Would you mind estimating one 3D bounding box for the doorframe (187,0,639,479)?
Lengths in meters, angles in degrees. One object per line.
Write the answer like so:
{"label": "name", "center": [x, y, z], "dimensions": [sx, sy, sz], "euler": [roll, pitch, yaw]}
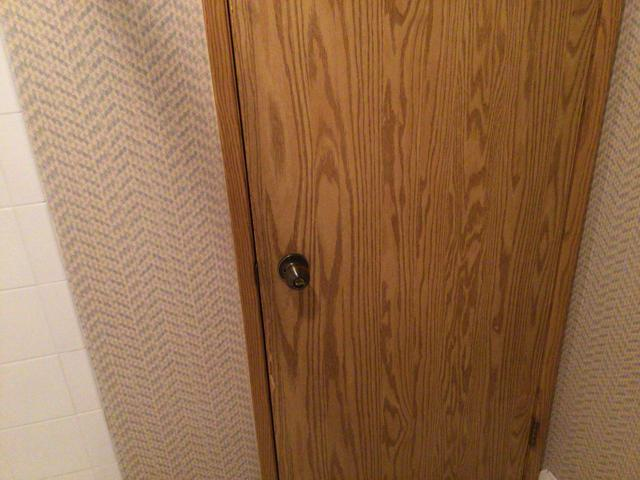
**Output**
{"label": "doorframe", "center": [0.220, 0.020, 1.190], "dimensions": [0.860, 1.800, 0.040], "euler": [-7, 27, -14]}
